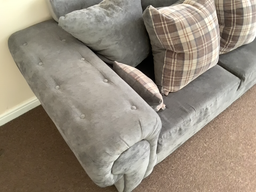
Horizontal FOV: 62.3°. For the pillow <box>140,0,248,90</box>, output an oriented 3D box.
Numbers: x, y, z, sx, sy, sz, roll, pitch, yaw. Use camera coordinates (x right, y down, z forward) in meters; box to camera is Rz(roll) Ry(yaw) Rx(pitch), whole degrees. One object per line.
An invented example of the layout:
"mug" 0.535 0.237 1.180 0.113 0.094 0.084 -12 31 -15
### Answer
"pillow" 0.340 -0.290 1.090 0.430 0.450 0.180 -11 41 -46
